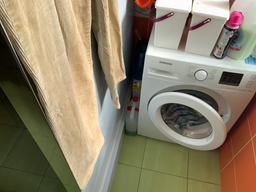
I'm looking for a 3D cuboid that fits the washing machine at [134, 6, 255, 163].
[{"bbox_3d":[0.430,-0.050,1.530,0.630,0.840,0.650,9,51,5],"label":"washing machine"}]
